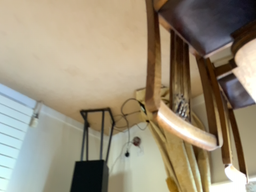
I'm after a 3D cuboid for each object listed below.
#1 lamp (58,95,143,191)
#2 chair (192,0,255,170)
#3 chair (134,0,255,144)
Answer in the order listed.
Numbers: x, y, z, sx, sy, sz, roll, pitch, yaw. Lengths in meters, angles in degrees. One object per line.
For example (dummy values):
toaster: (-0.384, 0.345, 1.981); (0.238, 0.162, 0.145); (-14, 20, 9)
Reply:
lamp: (-0.230, 1.050, 1.620); (0.520, 2.140, 0.500); (-28, 134, 29)
chair: (0.750, -0.100, 1.120); (0.470, 0.870, 0.450); (-30, 133, 31)
chair: (0.350, -0.370, 0.790); (0.450, 0.870, 0.480); (30, 131, -33)
